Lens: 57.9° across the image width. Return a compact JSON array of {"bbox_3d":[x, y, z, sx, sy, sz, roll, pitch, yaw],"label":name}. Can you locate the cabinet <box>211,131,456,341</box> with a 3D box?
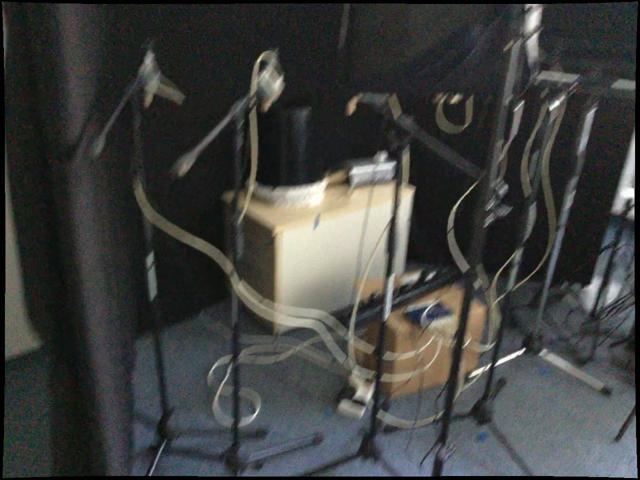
[{"bbox_3d":[0.080,-0.080,2.810,1.019,0.600,0.550,-20,34,-35],"label":"cabinet"}]
